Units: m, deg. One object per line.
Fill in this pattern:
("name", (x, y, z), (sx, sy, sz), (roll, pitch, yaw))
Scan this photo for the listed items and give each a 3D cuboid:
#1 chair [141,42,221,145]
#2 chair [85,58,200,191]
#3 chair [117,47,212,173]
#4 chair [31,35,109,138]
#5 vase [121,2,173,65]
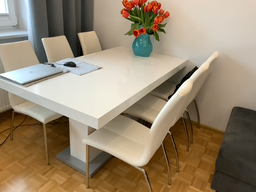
("chair", (0.550, -0.050, 2.330), (0.600, 0.920, 0.410), (19, 28, 26))
("chair", (0.060, 0.280, 1.530), (0.600, 0.920, 0.420), (19, 28, 26))
("chair", (0.310, 0.090, 1.980), (0.600, 0.920, 0.490), (19, 28, 26))
("chair", (-0.600, -0.130, 2.300), (0.600, 0.900, 0.450), (17, 28, 23))
("vase", (0.200, -0.700, 2.340), (0.420, 0.580, 0.290), (18, 28, 25))
